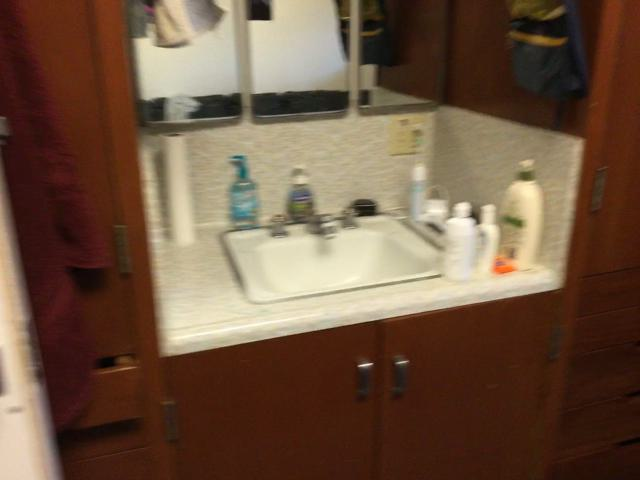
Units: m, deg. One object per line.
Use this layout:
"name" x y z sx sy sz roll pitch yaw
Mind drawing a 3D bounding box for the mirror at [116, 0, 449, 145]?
"mirror" -0.080 -0.550 1.540 0.850 0.470 0.170 -10 22 -15

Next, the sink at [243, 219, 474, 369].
"sink" 0.080 0.110 1.430 0.470 0.160 0.340 -10 22 -15

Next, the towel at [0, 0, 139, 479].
"towel" -0.460 -0.210 0.760 0.230 1.200 0.100 -10 22 -15
